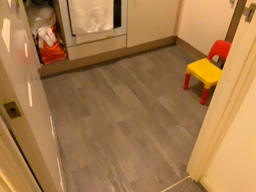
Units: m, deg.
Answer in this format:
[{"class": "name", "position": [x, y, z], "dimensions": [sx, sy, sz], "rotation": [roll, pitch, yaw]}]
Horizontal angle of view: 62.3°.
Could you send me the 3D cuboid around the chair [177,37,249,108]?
[{"class": "chair", "position": [0.700, -0.210, 1.820], "dimensions": [0.360, 0.430, 0.320], "rotation": [-18, 44, -21]}]
